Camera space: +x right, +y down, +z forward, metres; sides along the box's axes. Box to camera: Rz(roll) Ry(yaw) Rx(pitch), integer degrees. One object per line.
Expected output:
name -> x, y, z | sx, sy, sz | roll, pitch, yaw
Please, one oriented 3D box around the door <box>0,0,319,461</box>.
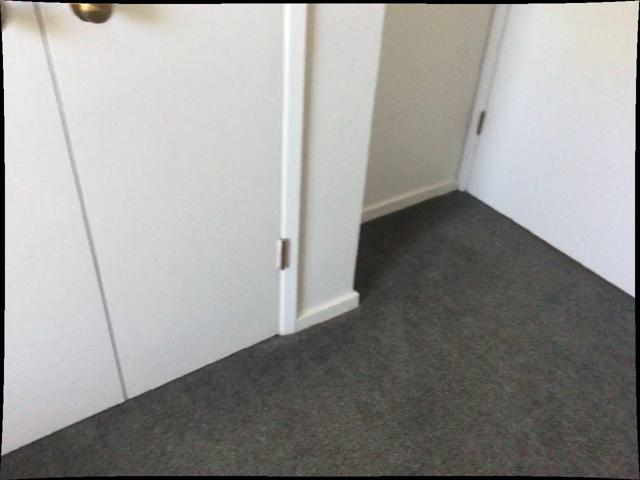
door -> -0.389, -0.110, 1.150 | 0.849, 1.211, 0.070 | -21, 46, -30
